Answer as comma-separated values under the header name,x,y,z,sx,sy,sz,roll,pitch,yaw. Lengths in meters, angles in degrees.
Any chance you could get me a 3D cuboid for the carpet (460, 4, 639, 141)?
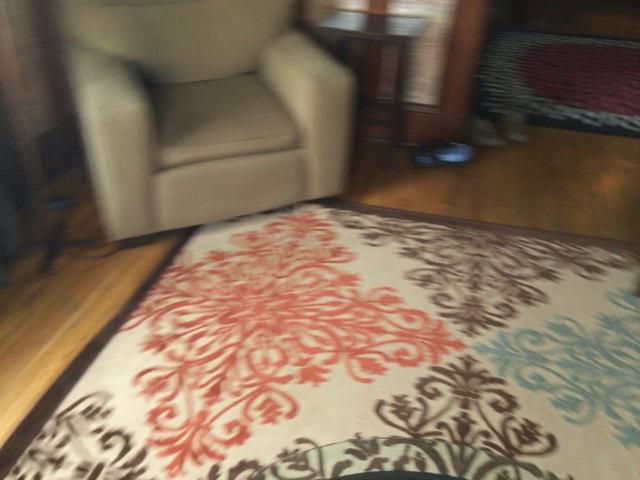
name,x,y,z,sx,sy,sz,roll,pitch,yaw
carpet,2.150,-1.200,3.890,2.070,0.160,2.170,9,37,17
